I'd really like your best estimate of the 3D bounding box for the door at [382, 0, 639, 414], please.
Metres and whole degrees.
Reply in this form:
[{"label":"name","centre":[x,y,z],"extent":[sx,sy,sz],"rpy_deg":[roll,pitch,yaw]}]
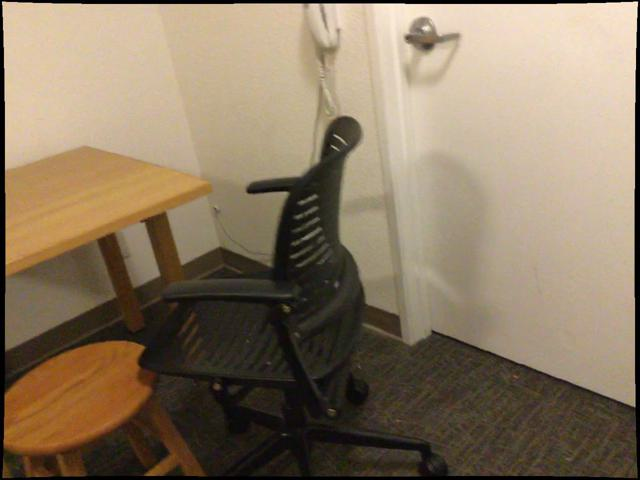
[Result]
[{"label":"door","centre":[0.569,-0.310,1.380],"extent":[0.910,1.561,0.120],"rpy_deg":[18,39,42]}]
